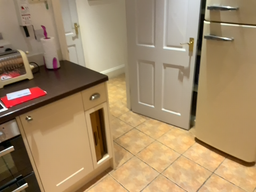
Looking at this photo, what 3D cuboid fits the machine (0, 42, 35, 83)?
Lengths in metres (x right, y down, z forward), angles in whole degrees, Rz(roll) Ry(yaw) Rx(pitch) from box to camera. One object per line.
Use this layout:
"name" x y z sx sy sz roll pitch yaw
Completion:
"machine" -0.890 -0.240 1.510 0.310 0.190 0.250 -26 35 -37
